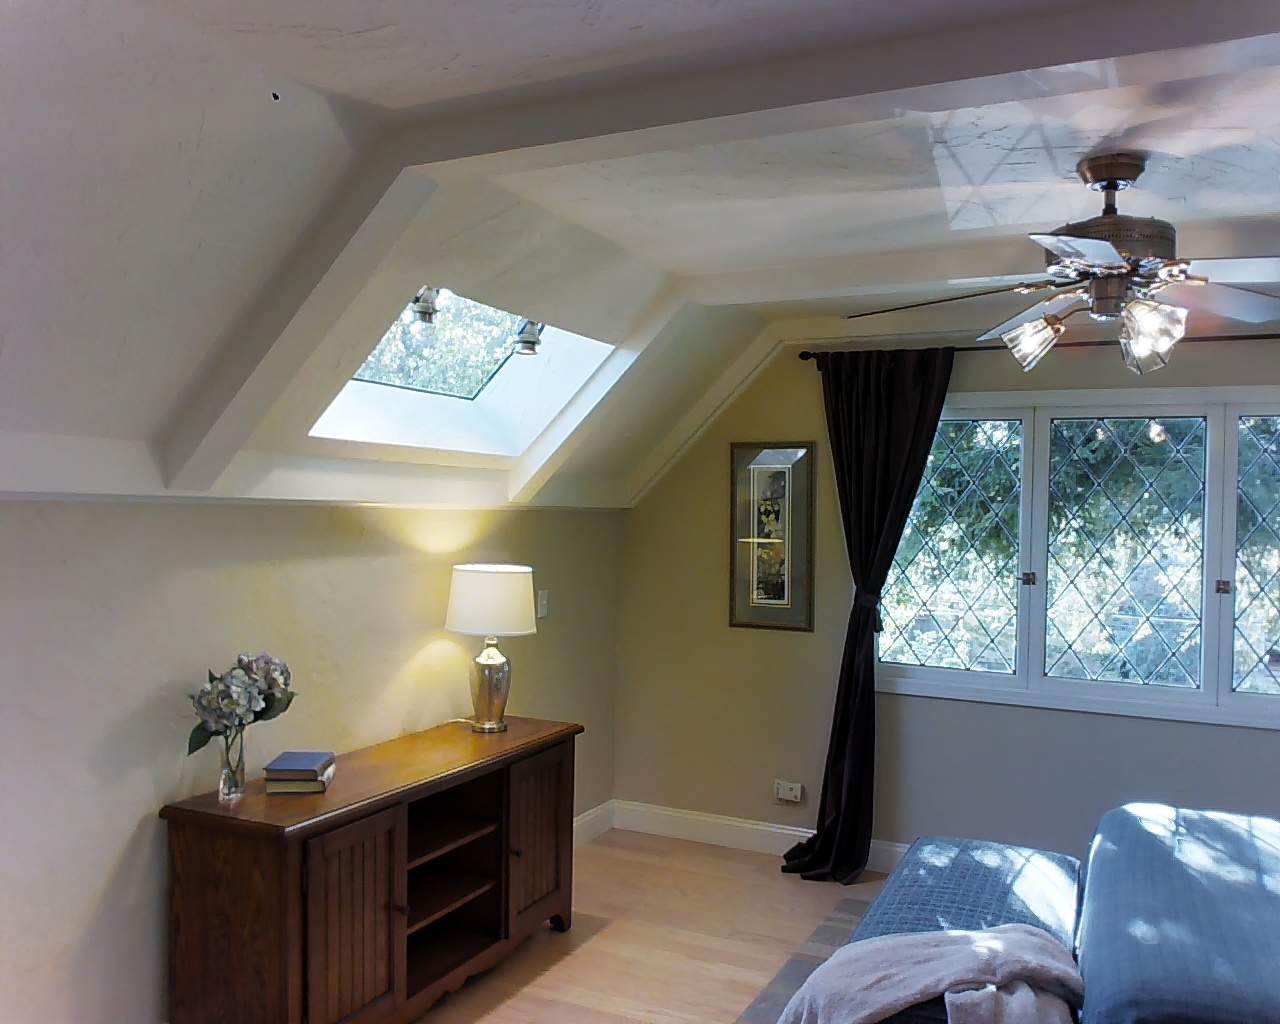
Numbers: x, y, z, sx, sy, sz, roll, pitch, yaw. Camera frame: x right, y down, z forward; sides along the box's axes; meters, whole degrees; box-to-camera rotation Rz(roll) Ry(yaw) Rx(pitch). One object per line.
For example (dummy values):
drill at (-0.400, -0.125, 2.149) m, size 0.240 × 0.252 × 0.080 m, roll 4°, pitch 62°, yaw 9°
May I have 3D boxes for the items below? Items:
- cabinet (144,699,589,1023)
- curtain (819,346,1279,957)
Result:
cabinet at (-0.760, 1.140, 3.450) m, size 0.490 × 0.810 × 1.530 m, roll 1°, pitch 0°, yaw 26°
curtain at (1.880, 0.490, 4.230) m, size 2.300 × 2.200 × 0.250 m, roll 1°, pitch 0°, yaw 26°
